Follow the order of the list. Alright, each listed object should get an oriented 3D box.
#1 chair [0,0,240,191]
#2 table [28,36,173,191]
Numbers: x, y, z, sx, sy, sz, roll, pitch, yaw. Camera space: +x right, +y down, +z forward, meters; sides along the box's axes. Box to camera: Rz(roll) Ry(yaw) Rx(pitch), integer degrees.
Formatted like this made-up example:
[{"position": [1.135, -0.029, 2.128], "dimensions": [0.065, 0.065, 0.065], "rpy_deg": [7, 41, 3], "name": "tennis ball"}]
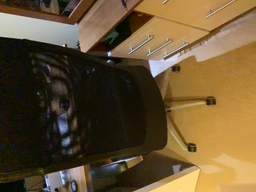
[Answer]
[{"position": [-0.100, 0.090, 1.180], "dimensions": [0.670, 1.290, 0.670], "rpy_deg": [-29, 71, 47], "name": "chair"}, {"position": [-0.300, 0.290, 1.860], "dimensions": [0.800, 0.740, 1.260], "rpy_deg": [-24, 75, 48], "name": "table"}]
